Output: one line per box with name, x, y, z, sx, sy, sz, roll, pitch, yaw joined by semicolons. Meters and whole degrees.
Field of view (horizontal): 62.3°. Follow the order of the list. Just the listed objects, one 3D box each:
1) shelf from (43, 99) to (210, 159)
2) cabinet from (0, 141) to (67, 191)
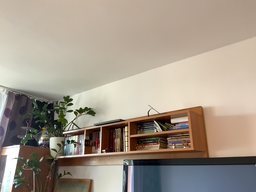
shelf;-0.160;0.380;1.950;1.680;0.310;0.300;-15;-26;36
cabinet;-1.120;1.430;2.180;0.500;1.800;0.560;-15;-26;36
